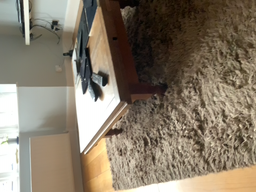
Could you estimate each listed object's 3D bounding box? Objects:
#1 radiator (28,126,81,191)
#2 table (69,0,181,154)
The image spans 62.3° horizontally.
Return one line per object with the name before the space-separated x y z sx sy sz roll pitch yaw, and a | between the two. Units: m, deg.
radiator | -1.020 0.910 2.910 0.160 0.620 0.940 130 133 -56
table | -0.140 -0.120 1.330 0.890 0.280 0.740 129 134 -56
